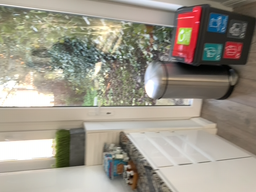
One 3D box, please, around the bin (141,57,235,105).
[{"bbox_3d":[0.470,-0.130,1.730,0.340,0.630,0.330,-150,62,-69],"label":"bin"}]
